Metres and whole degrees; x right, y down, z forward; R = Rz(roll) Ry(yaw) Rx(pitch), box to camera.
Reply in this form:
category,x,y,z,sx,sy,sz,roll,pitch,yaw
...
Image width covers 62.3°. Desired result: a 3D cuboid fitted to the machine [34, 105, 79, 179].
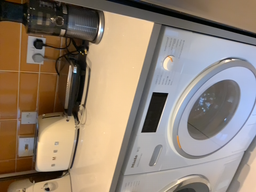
category,x,y,z,sx,sy,sz,roll,pitch,yaw
machine,-0.430,0.260,1.250,0.210,0.180,0.360,45,127,51
